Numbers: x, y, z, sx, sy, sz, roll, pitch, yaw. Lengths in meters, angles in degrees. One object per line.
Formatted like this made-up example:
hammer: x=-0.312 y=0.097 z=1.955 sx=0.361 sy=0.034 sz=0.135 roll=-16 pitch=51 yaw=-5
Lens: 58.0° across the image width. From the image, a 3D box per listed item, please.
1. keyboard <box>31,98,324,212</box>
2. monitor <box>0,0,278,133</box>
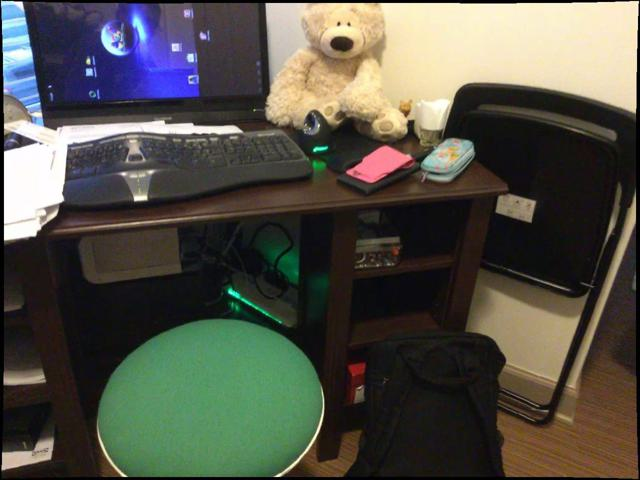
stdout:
keyboard: x=-0.269 y=-0.180 z=1.130 sx=0.499 sy=0.080 sz=0.260 roll=-7 pitch=34 yaw=-15
monitor: x=-0.379 y=-0.451 z=1.300 sx=0.539 sy=0.331 sz=0.210 roll=-5 pitch=34 yaw=-12
